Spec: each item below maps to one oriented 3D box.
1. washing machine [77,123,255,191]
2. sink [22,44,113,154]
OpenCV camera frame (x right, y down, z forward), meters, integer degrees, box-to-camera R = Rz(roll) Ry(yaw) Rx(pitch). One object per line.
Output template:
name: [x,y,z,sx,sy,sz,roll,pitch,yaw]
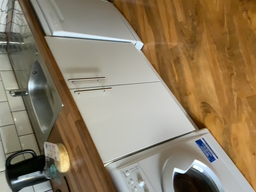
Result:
washing machine: [0.220,0.640,1.220,0.630,0.910,0.550,-53,58,39]
sink: [-0.440,0.020,1.420,0.510,0.320,0.470,-53,58,39]
